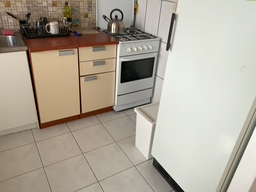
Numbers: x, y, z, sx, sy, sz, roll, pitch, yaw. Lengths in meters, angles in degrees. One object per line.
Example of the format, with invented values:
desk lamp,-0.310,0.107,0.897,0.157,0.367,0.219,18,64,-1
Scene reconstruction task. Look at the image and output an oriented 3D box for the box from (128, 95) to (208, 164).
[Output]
box,0.360,0.290,1.990,0.630,0.420,0.280,-11,33,-25
